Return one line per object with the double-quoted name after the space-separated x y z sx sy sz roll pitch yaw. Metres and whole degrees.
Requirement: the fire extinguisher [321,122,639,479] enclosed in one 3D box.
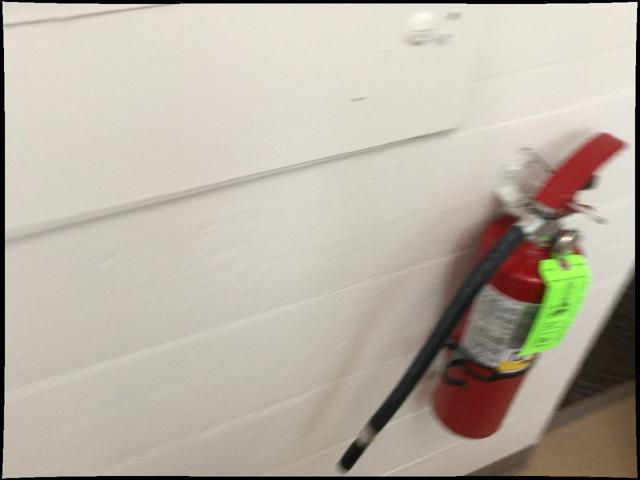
0.180 0.120 0.710 0.329 0.461 0.130 -16 47 -16 "fire extinguisher"
